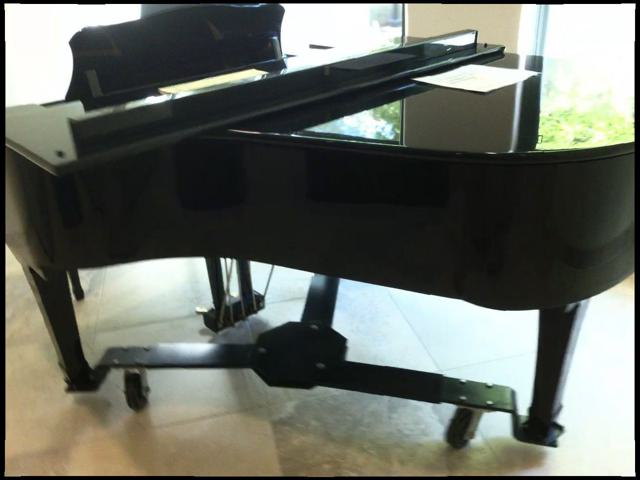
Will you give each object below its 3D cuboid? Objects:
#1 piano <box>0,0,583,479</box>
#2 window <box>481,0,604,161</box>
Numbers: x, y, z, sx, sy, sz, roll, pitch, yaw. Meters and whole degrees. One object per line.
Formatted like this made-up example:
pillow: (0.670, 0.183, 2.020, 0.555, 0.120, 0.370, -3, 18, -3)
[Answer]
piano: (-0.579, -0.180, 2.060, 2.417, 1.322, 1.620, 13, 32, 29)
window: (0.978, -0.792, 2.550, 0.399, 0.781, 0.280, 12, 32, 29)
